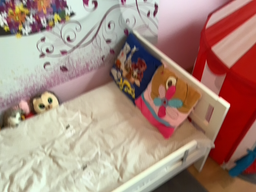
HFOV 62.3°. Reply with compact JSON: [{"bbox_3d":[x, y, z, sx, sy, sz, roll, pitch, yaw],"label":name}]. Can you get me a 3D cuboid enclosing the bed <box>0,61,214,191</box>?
[{"bbox_3d":[-0.460,0.470,1.230,1.670,0.420,0.800,-26,51,-19],"label":"bed"}]
